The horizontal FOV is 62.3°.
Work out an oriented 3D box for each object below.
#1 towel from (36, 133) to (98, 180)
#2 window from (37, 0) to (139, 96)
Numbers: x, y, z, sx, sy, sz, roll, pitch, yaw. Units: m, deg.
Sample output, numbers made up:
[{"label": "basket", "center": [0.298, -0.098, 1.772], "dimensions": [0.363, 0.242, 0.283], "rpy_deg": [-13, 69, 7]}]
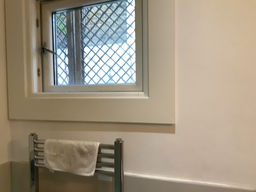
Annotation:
[{"label": "towel", "center": [-0.290, 0.280, 1.010], "dimensions": [0.280, 0.170, 0.090], "rpy_deg": [0, 2, 17]}, {"label": "window", "center": [-0.240, -0.310, 1.200], "dimensions": [0.610, 0.610, 0.050], "rpy_deg": [0, 2, 17]}]
